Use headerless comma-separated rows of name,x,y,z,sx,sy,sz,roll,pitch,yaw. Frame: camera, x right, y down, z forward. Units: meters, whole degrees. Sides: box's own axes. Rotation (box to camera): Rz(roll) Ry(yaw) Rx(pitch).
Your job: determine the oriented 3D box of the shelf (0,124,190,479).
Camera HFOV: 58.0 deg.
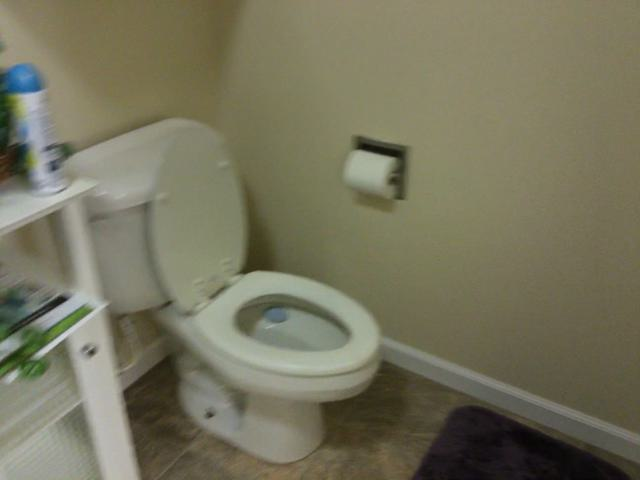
shelf,-0.600,0.300,1.120,0.450,0.900,0.440,17,32,26
